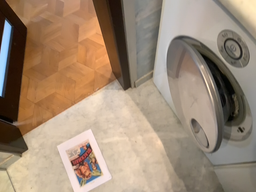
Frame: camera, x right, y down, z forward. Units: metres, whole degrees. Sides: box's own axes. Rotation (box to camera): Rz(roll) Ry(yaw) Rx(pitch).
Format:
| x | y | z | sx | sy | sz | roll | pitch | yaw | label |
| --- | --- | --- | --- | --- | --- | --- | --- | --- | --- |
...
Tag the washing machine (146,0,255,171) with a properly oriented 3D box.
| x | y | z | sx | sy | sz | roll | pitch | yaw | label |
| --- | --- | --- | --- | --- | --- | --- | --- | --- | --- |
| 0.410 | -0.090 | 0.840 | 0.410 | 0.830 | 0.610 | -27 | 71 | -6 | washing machine |
